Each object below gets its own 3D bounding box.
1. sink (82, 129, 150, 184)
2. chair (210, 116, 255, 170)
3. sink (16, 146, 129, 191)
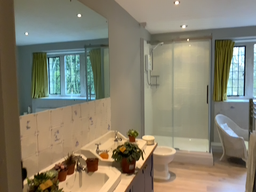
[{"bbox_3d":[-0.080,0.570,2.180,0.450,0.260,0.730,1,5,20],"label":"sink"},{"bbox_3d":[1.860,0.780,3.750,0.570,0.720,0.610,4,6,44],"label":"chair"},{"bbox_3d":[-0.320,0.620,1.500,0.450,0.280,0.700,1,5,20],"label":"sink"}]
